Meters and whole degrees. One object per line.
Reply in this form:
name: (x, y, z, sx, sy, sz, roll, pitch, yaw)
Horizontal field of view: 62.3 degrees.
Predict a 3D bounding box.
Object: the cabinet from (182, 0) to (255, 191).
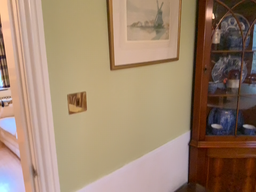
cabinet: (0.770, 0.130, 1.560, 0.490, 1.880, 0.480, 12, 18, 43)
